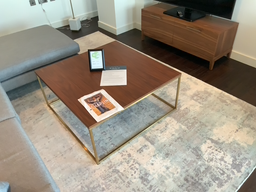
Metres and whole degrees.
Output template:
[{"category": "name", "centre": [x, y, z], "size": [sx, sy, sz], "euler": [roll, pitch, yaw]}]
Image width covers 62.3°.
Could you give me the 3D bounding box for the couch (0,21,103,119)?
[{"category": "couch", "centre": [-0.980, -0.390, 2.380], "size": [0.900, 0.410, 1.080], "euler": [-28, 45, -28]}]
